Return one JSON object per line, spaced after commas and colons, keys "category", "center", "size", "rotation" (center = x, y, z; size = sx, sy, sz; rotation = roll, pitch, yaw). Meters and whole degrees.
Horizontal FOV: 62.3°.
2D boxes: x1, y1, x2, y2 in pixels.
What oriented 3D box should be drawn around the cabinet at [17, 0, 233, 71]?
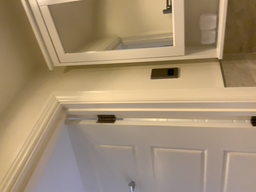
{"category": "cabinet", "center": [-0.060, -0.530, 1.000], "size": [0.130, 1.020, 0.830], "rotation": [-71, -23, -51]}
